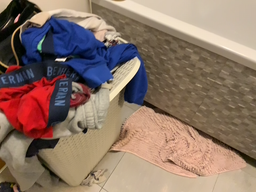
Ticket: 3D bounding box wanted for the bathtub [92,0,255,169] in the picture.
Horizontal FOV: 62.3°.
[{"bbox_3d":[0.590,-0.170,1.090,1.360,0.600,0.680,28,58,15],"label":"bathtub"}]
